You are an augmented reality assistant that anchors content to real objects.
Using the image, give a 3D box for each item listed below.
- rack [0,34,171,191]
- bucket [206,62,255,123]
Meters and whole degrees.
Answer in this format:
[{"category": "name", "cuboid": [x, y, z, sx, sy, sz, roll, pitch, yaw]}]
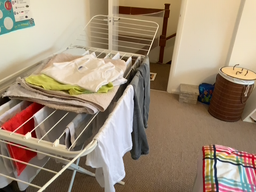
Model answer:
[{"category": "rack", "cuboid": [-0.230, 0.260, 1.250, 0.740, 0.940, 1.010, 10, 30, 12]}, {"category": "bucket", "cuboid": [1.100, -0.050, 2.350, 0.330, 0.490, 0.420, 11, 31, 13]}]
